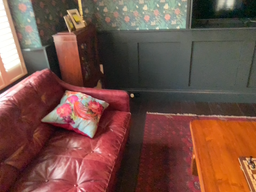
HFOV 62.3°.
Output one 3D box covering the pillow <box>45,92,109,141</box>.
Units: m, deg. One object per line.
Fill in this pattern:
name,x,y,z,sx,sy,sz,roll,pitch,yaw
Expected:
pillow,-0.420,0.160,1.850,0.390,0.240,0.360,3,28,13
